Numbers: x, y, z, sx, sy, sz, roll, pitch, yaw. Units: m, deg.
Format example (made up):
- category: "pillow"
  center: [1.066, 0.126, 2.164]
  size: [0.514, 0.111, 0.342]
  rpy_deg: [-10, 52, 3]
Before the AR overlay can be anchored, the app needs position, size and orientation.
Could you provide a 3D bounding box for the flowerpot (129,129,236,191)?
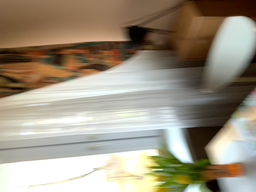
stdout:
- category: "flowerpot"
  center: [0.270, 0.500, 1.370]
  size: [0.720, 0.400, 0.260]
  rpy_deg: [103, 161, -55]
